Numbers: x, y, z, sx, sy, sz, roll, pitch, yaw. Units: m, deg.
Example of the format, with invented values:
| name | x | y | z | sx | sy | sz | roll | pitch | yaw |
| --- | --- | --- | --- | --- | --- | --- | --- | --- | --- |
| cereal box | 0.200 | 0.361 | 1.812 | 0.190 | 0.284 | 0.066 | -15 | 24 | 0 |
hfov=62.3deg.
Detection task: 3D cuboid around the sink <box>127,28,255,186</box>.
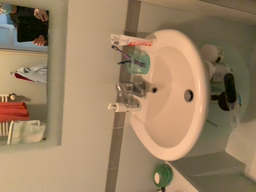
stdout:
| name | x | y | z | sx | sy | sz | roll | pitch | yaw |
| --- | --- | --- | --- | --- | --- | --- | --- | --- | --- |
| sink | 0.210 | 0.000 | 0.930 | 0.460 | 0.180 | 0.540 | 35 | 120 | 58 |
